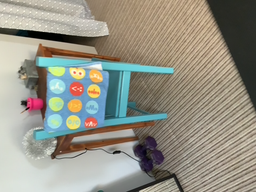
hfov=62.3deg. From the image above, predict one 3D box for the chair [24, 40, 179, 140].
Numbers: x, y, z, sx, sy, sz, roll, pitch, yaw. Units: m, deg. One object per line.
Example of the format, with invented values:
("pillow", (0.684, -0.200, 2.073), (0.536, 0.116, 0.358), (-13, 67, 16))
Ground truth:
("chair", (-0.160, -0.070, 1.430), (0.490, 0.880, 0.460), (15, 103, 50))
